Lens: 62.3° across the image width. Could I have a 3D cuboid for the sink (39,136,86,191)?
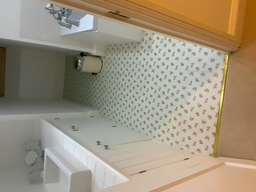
[{"bbox_3d":[-0.500,0.600,1.560,0.500,0.110,0.460,14,99,49],"label":"sink"}]
